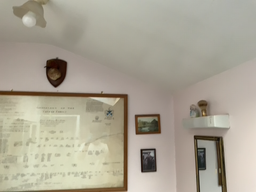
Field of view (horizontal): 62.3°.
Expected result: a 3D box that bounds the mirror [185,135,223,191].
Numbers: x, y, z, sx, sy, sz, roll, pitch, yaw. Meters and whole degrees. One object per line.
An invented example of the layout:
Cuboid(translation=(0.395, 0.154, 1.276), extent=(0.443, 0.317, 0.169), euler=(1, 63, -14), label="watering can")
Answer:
Cuboid(translation=(0.440, 0.440, 1.260), extent=(0.040, 0.400, 0.330), euler=(1, -9, -9), label="mirror")
